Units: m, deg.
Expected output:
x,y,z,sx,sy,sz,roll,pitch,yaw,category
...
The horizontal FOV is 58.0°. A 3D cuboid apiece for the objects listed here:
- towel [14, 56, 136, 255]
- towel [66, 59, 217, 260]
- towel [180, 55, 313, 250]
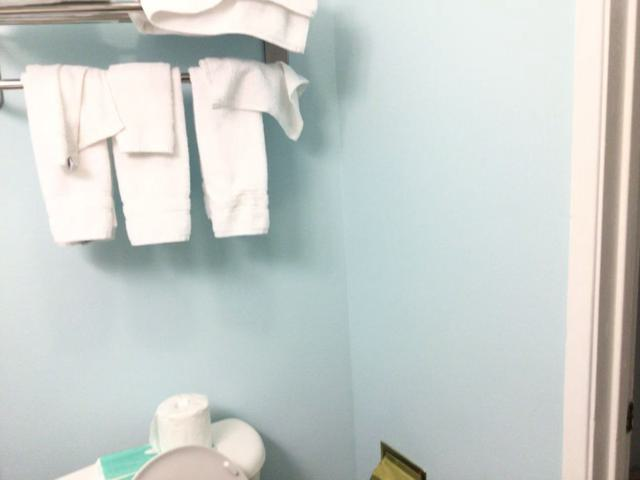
x,y,z,sx,sy,sz,roll,pitch,yaw,category
-0.460,-0.160,1.090,0.140,0.340,0.130,-12,14,-32,towel
-0.340,-0.160,1.120,0.210,0.350,0.110,-12,14,-32,towel
-0.150,-0.180,1.190,0.220,0.360,0.110,-8,12,-14,towel
